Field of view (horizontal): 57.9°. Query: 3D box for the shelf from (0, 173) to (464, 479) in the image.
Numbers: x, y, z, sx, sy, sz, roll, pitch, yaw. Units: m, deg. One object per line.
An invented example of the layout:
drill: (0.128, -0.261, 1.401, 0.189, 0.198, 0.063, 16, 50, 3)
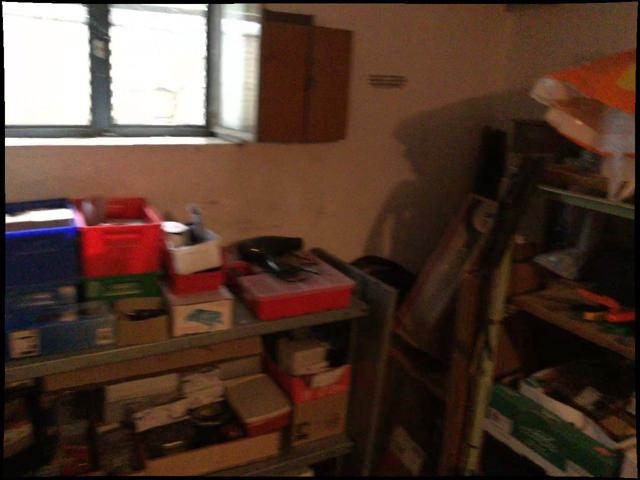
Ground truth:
shelf: (-0.350, 0.501, 1.730, 1.259, 1.191, 0.730, -9, 21, -33)
